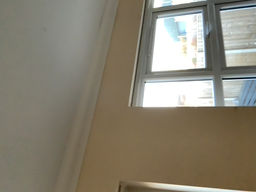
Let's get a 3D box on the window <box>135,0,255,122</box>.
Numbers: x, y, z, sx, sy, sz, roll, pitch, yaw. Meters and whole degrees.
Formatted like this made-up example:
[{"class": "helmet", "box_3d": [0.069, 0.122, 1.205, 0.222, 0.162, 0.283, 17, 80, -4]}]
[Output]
[{"class": "window", "box_3d": [0.790, -0.560, 2.000, 0.080, 1.280, 1.680, 61, -148, -57]}]
